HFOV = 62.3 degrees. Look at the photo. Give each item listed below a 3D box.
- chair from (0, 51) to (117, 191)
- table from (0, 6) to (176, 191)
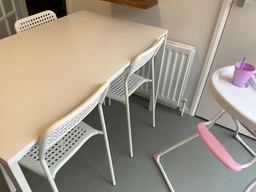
[{"bbox_3d":[-0.350,0.260,1.060,0.440,0.780,0.370,21,41,21],"label":"chair"},{"bbox_3d":[-0.350,0.020,1.400,0.760,0.750,1.380,21,41,21],"label":"table"}]
